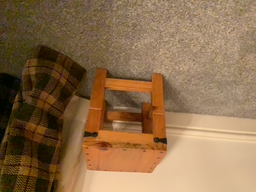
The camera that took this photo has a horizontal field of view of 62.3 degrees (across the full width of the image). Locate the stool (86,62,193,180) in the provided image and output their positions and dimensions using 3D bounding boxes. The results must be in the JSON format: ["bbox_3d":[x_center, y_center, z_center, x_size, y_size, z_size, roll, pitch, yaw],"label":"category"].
[{"bbox_3d":[0.020,0.110,0.820,0.310,0.340,0.290,5,147,-6],"label":"stool"}]
